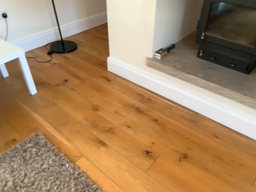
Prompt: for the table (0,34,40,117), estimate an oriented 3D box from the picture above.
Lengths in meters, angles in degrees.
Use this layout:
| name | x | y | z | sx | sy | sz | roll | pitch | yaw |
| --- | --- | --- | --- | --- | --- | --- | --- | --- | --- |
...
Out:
| name | x | y | z | sx | sy | sz | roll | pitch | yaw |
| --- | --- | --- | --- | --- | --- | --- | --- | --- | --- |
| table | -1.270 | -0.180 | 1.850 | 0.600 | 0.510 | 0.600 | 27 | 45 | 29 |
